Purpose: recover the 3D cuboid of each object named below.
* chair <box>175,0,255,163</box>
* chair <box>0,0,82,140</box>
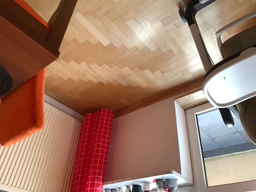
[{"bbox_3d":[0.740,-0.220,1.210,0.630,0.920,0.600,-27,134,34],"label":"chair"},{"bbox_3d":[-0.650,-0.320,1.160,0.490,0.920,0.390,31,135,-32],"label":"chair"}]
